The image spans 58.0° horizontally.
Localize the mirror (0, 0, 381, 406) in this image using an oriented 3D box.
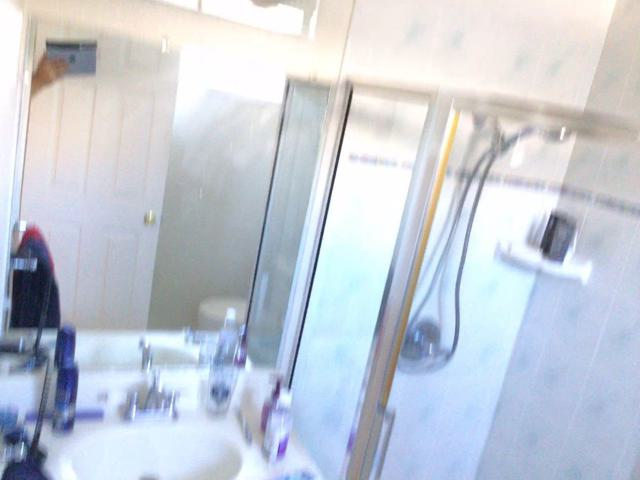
[{"bbox_3d":[-0.370,-0.070,1.550,0.890,0.950,0.140,12,5,-23],"label":"mirror"}]
